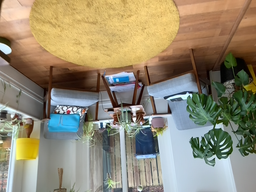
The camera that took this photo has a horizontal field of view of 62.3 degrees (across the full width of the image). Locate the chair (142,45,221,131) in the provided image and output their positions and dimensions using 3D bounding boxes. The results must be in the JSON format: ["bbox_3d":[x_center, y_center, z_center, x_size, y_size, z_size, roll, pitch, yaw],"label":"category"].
[{"bbox_3d":[0.670,-0.030,2.640,0.590,0.760,0.800,-17,157,33],"label":"chair"}]

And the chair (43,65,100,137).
[{"bbox_3d":[-0.780,0.120,2.820,0.560,0.710,0.810,5,159,-25],"label":"chair"}]

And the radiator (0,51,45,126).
[{"bbox_3d":[-1.370,-0.060,2.460,0.230,0.560,1.240,-6,161,3],"label":"radiator"}]

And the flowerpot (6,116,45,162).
[{"bbox_3d":[-1.320,0.570,2.780,0.340,0.530,0.310,-3,161,-4],"label":"flowerpot"}]
